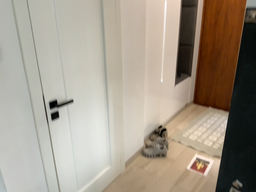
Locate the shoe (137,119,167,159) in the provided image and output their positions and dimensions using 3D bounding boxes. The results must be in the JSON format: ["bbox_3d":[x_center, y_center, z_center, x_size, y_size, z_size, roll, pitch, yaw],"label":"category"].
[{"bbox_3d":[0.320,0.510,2.650,0.280,0.110,0.660,5,22,14],"label":"shoe"}]
